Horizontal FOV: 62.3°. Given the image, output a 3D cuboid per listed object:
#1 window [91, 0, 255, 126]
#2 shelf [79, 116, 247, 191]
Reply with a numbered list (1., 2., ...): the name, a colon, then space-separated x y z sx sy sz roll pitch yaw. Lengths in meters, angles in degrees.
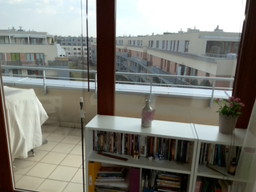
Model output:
1. window: 0.340 -0.500 1.580 1.230 1.410 0.100 3 14 6
2. shelf: 0.220 0.760 1.740 1.140 1.050 0.330 4 14 10
